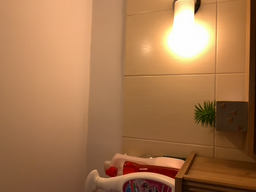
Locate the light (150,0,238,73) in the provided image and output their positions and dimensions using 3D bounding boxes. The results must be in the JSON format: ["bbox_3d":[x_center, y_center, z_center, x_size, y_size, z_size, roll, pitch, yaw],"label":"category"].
[{"bbox_3d":[0.230,-0.340,0.740,0.110,0.270,0.500,3,-91,-66],"label":"light"}]
